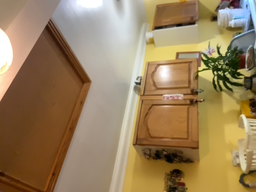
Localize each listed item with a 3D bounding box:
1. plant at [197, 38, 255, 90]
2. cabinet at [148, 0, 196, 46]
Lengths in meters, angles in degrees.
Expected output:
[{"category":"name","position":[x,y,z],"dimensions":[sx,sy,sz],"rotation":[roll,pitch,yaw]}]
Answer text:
[{"category":"plant","position":[1.030,-0.320,2.190],"dimensions":[0.320,0.610,0.390],"rotation":[66,-151,-51]},{"category":"cabinet","position":[0.640,-1.050,2.980],"dimensions":[0.360,0.610,0.530],"rotation":[66,-150,-52]}]
